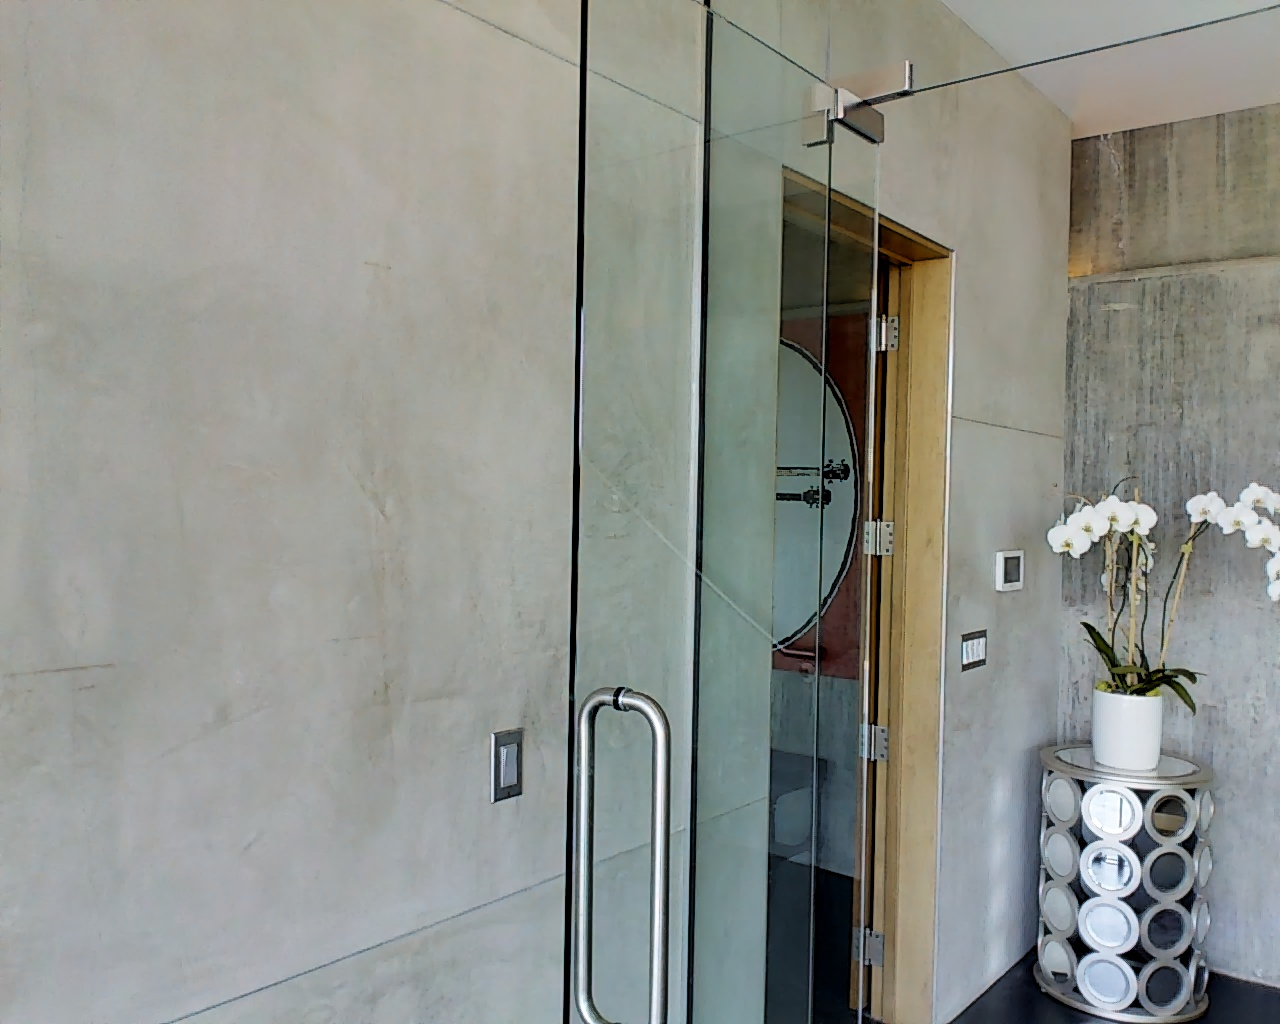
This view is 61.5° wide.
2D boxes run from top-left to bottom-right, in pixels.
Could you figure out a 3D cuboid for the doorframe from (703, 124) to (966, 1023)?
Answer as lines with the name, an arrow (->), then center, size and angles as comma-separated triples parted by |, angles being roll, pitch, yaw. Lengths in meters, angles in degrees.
doorframe -> 0.550, 0.340, 2.840 | 0.170, 2.400, 1.020 | 2, 1, 40
